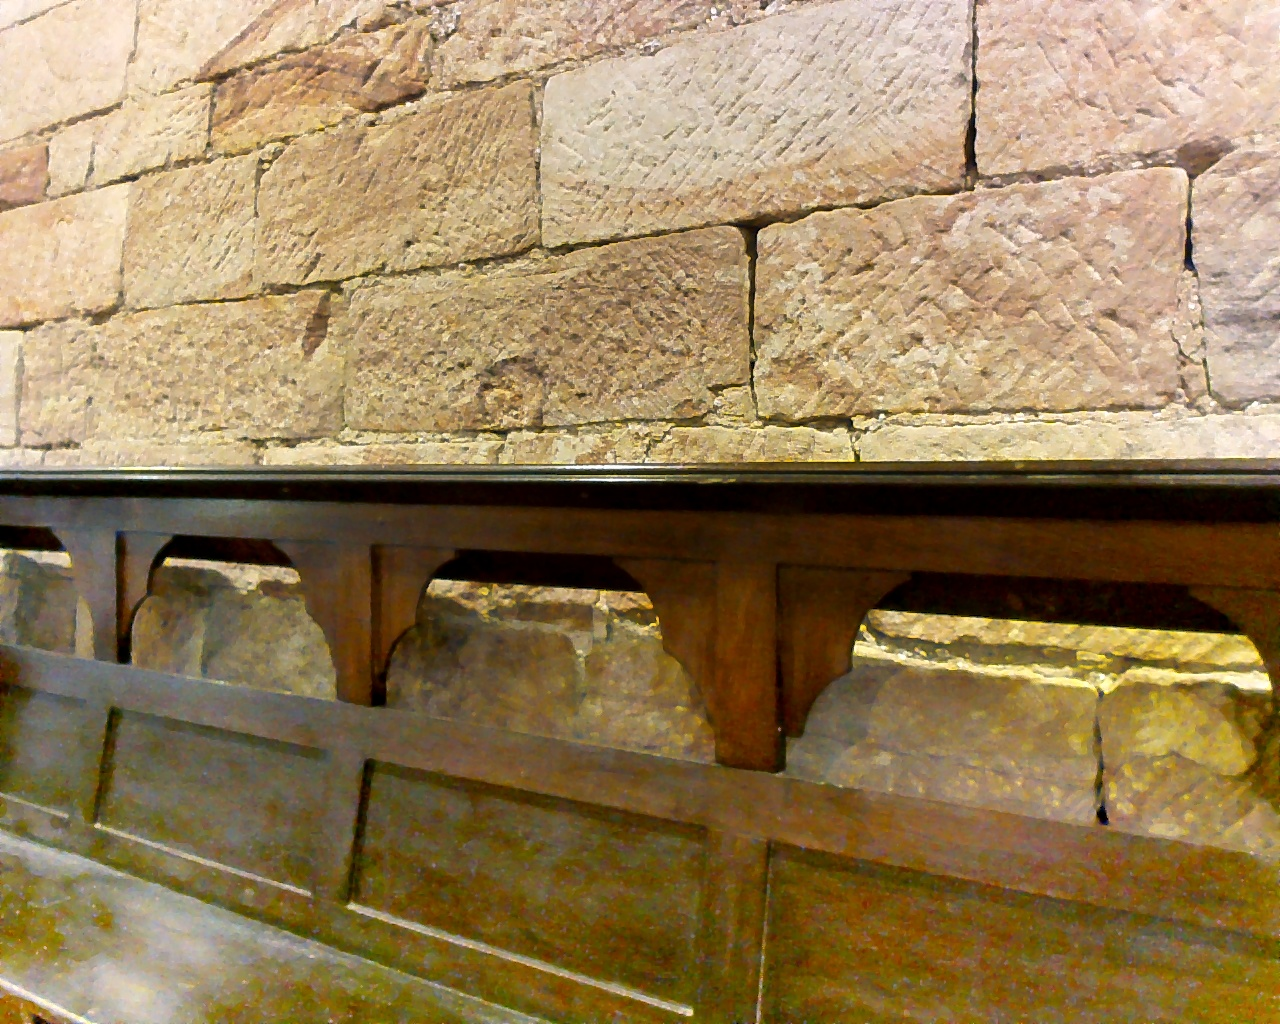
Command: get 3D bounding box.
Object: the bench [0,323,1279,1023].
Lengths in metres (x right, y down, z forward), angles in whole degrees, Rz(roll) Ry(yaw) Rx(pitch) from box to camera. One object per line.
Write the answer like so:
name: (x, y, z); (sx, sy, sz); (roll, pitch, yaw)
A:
bench: (-0.540, 0.310, 1.620); (3.079, 0.870, 0.610); (1, 0, 34)
